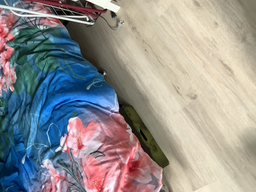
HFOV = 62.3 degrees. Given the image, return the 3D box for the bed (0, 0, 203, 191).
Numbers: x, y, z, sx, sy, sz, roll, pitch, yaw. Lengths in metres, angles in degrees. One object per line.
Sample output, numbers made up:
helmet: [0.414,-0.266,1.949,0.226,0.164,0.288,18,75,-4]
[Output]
bed: [-0.450,0.160,1.310,0.940,0.530,1.900,-43,67,31]
